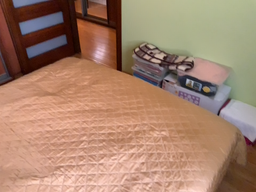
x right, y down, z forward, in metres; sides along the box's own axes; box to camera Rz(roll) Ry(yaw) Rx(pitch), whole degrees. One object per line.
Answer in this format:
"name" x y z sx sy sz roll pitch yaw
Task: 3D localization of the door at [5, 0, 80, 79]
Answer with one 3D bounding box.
"door" -1.010 -1.270 2.420 0.070 2.070 0.850 24 42 27
